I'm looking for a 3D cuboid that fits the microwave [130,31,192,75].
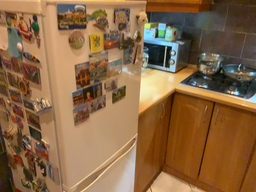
[{"bbox_3d":[0.300,-0.420,1.980,0.460,0.280,0.300,18,29,30],"label":"microwave"}]
